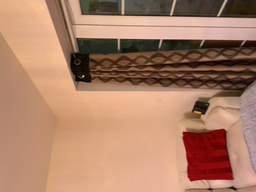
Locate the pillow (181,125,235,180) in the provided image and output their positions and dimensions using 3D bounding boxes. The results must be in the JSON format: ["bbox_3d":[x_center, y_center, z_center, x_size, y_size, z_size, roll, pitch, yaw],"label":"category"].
[{"bbox_3d":[0.840,0.610,2.290,0.140,0.440,0.520,50,-147,-67],"label":"pillow"}]
